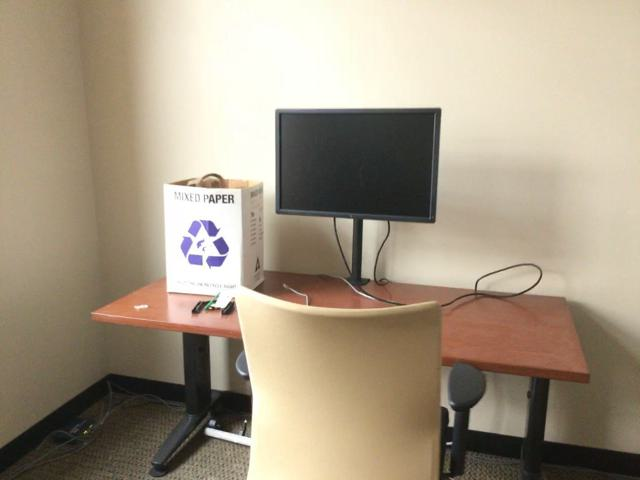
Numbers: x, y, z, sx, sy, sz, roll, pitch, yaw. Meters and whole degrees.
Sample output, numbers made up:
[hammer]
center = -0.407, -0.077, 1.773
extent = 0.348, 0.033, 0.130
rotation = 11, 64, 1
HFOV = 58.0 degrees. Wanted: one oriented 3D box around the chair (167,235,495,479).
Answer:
[chair]
center = 0.080, 0.510, 1.540
extent = 0.670, 0.930, 0.590
rotation = 3, 12, 20
